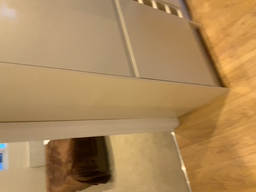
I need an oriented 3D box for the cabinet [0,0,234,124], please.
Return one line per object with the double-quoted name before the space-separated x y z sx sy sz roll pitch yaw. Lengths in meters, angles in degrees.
"cabinet" -0.350 -0.240 1.270 0.590 2.170 0.620 -41 55 47
